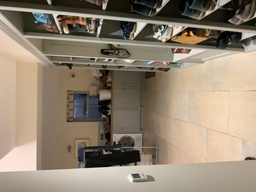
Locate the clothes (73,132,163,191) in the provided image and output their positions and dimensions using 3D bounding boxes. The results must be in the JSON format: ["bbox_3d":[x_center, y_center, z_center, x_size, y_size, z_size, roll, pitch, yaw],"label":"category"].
[{"bbox_3d":[-0.240,1.350,4.490,0.920,1.720,1.000,171,100,-78],"label":"clothes"}]
